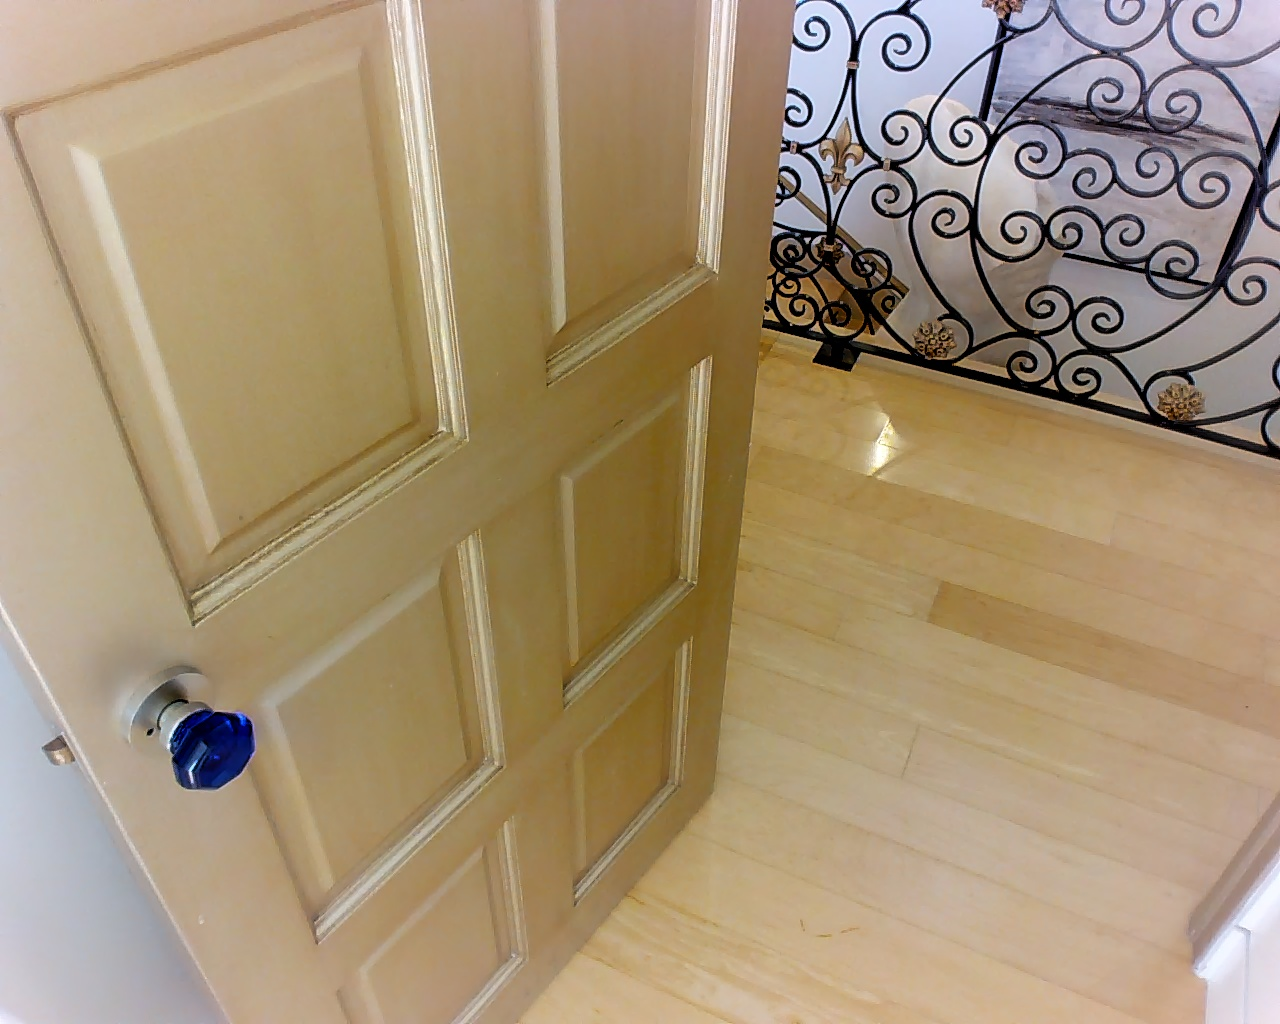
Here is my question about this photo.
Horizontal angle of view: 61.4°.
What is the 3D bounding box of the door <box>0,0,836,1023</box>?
[{"bbox_3d":[-0.180,-0.040,0.830,0.110,2.090,0.890,31,50,30],"label":"door"}]
